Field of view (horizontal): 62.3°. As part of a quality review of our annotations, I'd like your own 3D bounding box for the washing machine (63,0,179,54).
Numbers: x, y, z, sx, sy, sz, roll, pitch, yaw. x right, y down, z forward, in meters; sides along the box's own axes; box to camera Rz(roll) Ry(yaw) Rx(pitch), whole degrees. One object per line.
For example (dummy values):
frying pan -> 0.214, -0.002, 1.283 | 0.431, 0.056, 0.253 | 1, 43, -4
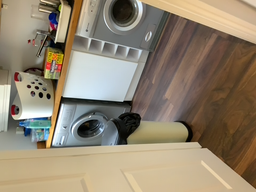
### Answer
washing machine -> -0.100, -0.900, 2.090 | 0.690, 0.830, 0.610 | 53, 130, 48
